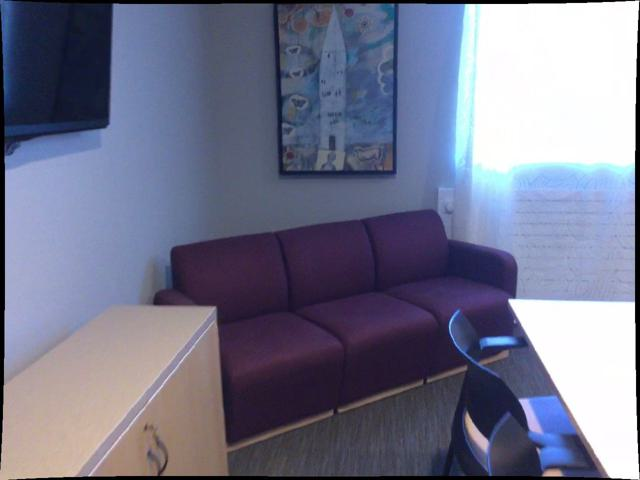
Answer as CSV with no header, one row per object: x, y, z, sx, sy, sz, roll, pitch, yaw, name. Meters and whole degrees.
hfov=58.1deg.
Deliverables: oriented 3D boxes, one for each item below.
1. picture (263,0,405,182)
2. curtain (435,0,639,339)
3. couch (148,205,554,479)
0.090,-0.901,3.460,0.809,1.092,0.090,0,14,6,picture
1.567,-0.621,3.460,1.607,2.384,0.510,0,14,6,curtain
0.190,0.371,2.900,1.838,0.791,0.770,-9,16,-27,couch
